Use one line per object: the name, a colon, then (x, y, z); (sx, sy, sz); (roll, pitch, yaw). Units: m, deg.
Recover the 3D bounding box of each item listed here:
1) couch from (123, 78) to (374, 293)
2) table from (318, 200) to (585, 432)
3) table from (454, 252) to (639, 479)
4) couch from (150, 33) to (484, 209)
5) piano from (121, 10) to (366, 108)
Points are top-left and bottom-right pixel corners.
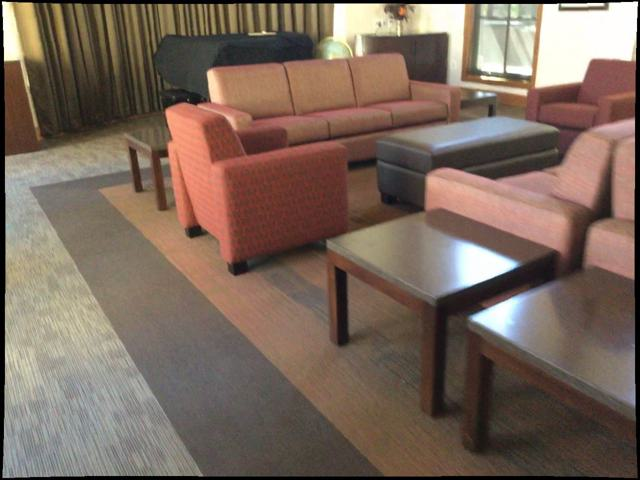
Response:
couch: (-0.390, -0.390, 3.270); (1.039, 0.811, 0.920); (-17, 28, -29)
table: (0.460, 0.220, 2.190); (0.630, 0.440, 0.710); (-17, 28, -29)
table: (0.889, 0.440, 1.640); (0.660, 0.440, 0.710); (-17, 28, -29)
couch: (0.080, -1.141, 4.940); (2.668, 0.941, 0.930); (-17, 28, -29)
piano: (-0.879, -2.182, 6.690); (2.239, 0.741, 1.680); (-17, 28, -29)
